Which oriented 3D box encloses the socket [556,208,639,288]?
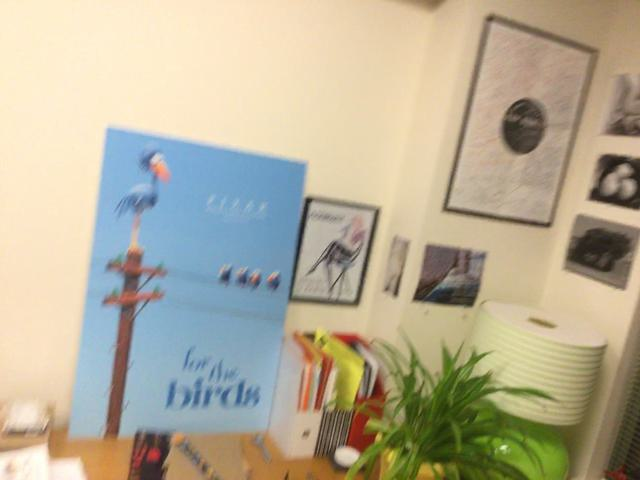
[{"bbox_3d":[0.890,0.020,1.830,0.050,0.190,0.250,7,11,-29],"label":"socket"}]

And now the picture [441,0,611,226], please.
[{"bbox_3d":[0.660,-0.380,1.840,0.450,0.620,0.050,8,10,-25],"label":"picture"}]

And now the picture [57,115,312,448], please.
[{"bbox_3d":[-0.380,0.140,1.680,0.600,0.880,0.100,6,6,-29],"label":"picture"}]

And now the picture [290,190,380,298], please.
[{"bbox_3d":[0.050,0.020,1.870,0.240,0.330,0.030,7,11,-29],"label":"picture"}]

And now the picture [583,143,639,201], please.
[{"bbox_3d":[0.940,-0.210,1.790,0.050,0.150,0.210,7,11,-29],"label":"picture"}]

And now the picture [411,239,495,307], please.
[{"bbox_3d":[0.430,0.110,1.860,0.250,0.190,0.050,7,11,-29],"label":"picture"}]
